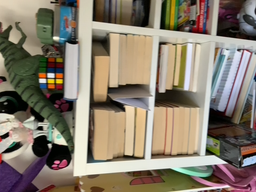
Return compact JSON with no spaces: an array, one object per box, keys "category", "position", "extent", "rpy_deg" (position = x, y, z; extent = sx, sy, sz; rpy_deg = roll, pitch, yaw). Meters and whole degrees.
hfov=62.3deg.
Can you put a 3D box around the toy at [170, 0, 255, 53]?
[{"category":"toy","position":[0.350,-0.360,0.830],"extent":[0.280,0.240,0.330],"rpy_deg":[-161,73,-72]}]
